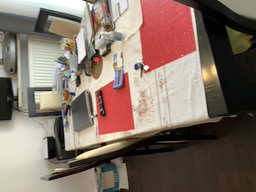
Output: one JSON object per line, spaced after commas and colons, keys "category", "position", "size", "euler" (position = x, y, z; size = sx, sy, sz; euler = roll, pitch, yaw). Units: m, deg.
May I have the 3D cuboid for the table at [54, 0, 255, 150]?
{"category": "table", "position": [0.070, -0.160, 1.690], "size": [1.840, 0.790, 0.960], "euler": [-26, 69, 55]}

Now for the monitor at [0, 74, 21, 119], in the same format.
{"category": "monitor", "position": [-1.440, 0.010, 2.360], "size": [0.100, 0.420, 0.490], "euler": [-3, 88, 58]}

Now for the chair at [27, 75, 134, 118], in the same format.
{"category": "chair", "position": [-0.500, 0.010, 2.340], "size": [0.410, 1.050, 0.310], "euler": [-29, 66, 54]}

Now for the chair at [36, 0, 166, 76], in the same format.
{"category": "chair", "position": [-0.210, -0.450, 1.870], "size": [0.370, 1.050, 0.410], "euler": [-22, 73, 56]}
